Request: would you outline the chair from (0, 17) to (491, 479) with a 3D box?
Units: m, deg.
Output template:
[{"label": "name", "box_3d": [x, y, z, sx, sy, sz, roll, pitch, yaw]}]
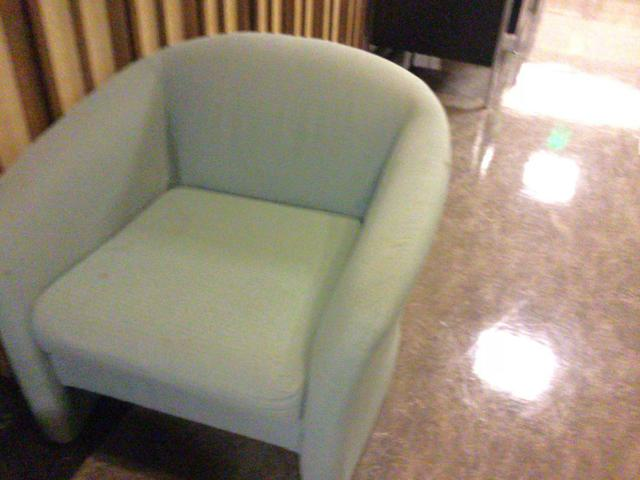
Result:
[{"label": "chair", "box_3d": [-0.190, 0.030, 1.380, 0.900, 0.870, 0.850, 15, 29, 15]}]
